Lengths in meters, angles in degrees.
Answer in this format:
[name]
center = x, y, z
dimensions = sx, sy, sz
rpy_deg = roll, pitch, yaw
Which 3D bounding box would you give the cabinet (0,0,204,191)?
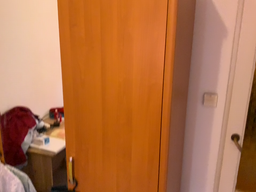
[cabinet]
center = -0.420, 0.270, 1.540
dimensions = 1.580, 2.040, 0.750
rpy_deg = 8, 15, 23
